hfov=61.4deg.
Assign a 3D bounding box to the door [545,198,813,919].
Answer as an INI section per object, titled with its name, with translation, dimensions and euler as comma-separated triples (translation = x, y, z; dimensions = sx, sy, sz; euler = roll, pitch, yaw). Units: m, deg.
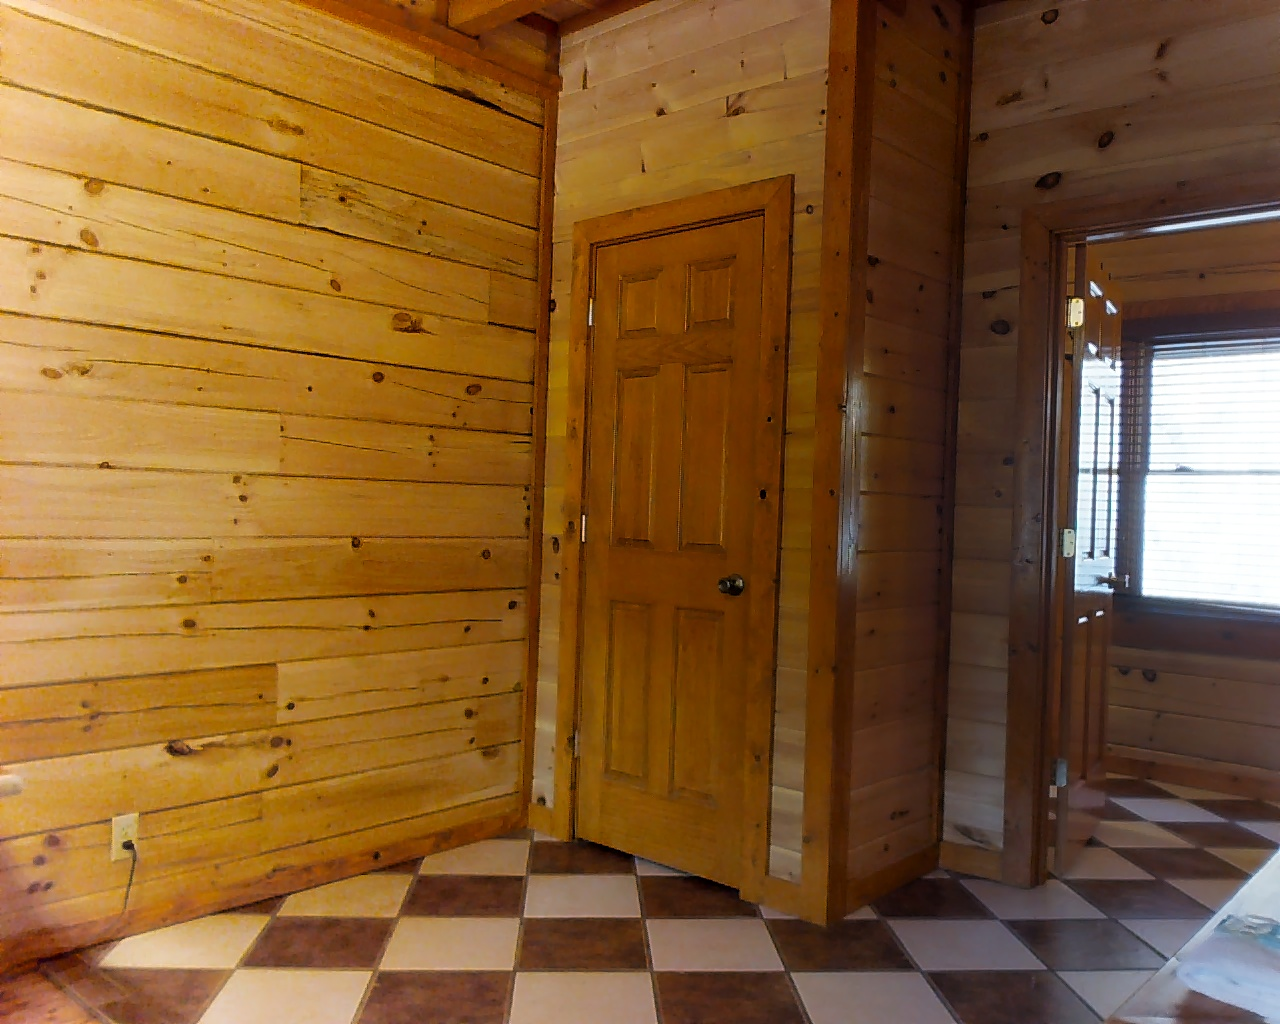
[door]
translation = 0.090, 0.120, 3.410
dimensions = 0.910, 2.061, 0.100
euler = 3, 1, 41
